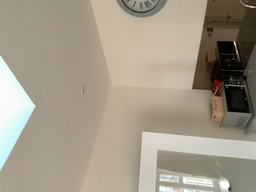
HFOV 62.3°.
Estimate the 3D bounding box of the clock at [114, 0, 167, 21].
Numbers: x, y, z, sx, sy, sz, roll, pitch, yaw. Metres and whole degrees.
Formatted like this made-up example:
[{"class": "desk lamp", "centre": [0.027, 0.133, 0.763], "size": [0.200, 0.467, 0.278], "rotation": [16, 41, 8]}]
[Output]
[{"class": "clock", "centre": [0.110, -0.960, 1.990], "size": [0.530, 0.500, 0.050], "rotation": [80, -163, -50]}]
